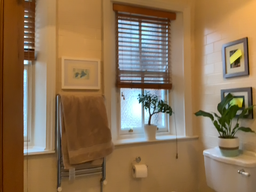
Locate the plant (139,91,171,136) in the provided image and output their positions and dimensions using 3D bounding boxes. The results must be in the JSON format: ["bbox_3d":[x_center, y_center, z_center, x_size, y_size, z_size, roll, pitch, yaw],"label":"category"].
[{"bbox_3d":[0.280,0.170,2.200,0.300,0.440,0.140,0,0,-26],"label":"plant"}]

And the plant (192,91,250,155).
[{"bbox_3d":[0.800,0.210,1.880,0.190,0.490,0.460,0,0,-25],"label":"plant"}]
